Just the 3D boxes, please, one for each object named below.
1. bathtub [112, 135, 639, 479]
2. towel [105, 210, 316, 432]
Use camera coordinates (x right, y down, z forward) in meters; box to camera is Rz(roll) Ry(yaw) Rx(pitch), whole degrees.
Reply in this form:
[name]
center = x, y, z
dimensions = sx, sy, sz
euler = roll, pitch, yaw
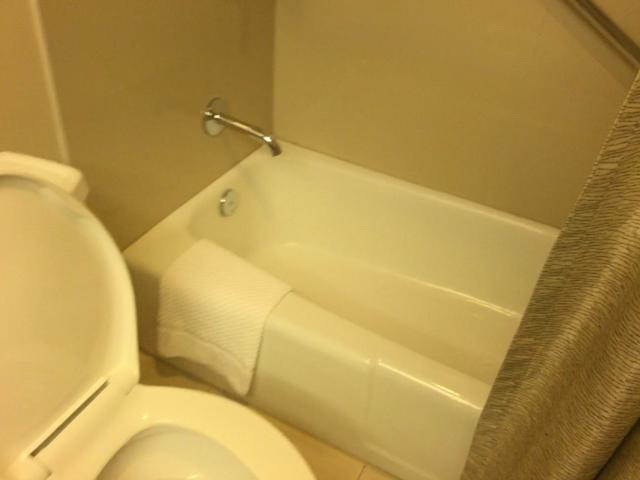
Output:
[bathtub]
center = 0.220, 0.190, 1.560
dimensions = 1.280, 0.370, 0.720
euler = 19, 39, 18
[towel]
center = -0.270, 0.200, 1.500
dimensions = 0.420, 0.360, 0.270
euler = 20, 39, 18
